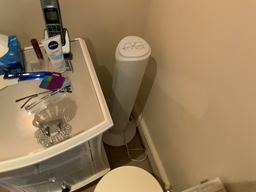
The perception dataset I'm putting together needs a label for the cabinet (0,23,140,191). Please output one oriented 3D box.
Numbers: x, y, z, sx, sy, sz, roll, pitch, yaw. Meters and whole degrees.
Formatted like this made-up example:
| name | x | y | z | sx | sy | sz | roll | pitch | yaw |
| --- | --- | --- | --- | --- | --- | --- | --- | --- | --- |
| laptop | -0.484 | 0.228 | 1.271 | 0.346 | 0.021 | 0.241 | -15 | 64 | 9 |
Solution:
| name | x | y | z | sx | sy | sz | roll | pitch | yaw |
| --- | --- | --- | --- | --- | --- | --- | --- | --- | --- |
| cabinet | -0.350 | 0.180 | 0.980 | 0.580 | 0.800 | 0.460 | -14 | 62 | -14 |
